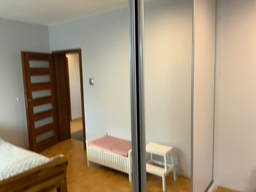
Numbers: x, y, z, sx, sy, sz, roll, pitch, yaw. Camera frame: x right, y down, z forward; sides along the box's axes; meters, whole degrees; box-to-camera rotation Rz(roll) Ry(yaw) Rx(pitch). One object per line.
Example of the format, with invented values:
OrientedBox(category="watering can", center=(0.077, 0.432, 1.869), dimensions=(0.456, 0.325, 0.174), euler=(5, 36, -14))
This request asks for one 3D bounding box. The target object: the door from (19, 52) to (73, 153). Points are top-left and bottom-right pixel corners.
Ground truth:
OrientedBox(category="door", center=(-1.710, 0.100, 4.520), dimensions=(0.470, 1.970, 0.800), euler=(4, 10, 41))

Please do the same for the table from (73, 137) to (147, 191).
OrientedBox(category="table", center=(-0.330, 1.120, 3.620), dimensions=(1.210, 0.540, 0.480), euler=(3, 9, 35))

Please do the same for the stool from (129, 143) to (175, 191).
OrientedBox(category="stool", center=(0.370, 1.100, 3.200), dimensions=(0.550, 0.590, 0.430), euler=(3, 9, 33))
